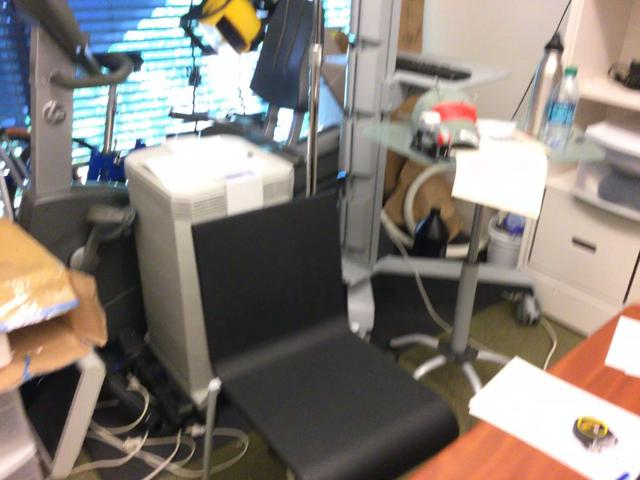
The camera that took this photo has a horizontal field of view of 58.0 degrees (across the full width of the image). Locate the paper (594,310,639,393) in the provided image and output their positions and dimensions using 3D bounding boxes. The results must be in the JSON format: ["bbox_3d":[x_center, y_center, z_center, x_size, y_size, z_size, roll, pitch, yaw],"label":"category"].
[{"bbox_3d":[0.520,0.180,0.930,0.110,0.020,0.200,15,28,30],"label":"paper"}]

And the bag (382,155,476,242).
[{"bbox_3d":[0.500,-0.200,2.700,0.350,0.320,0.220,-6,25,-13],"label":"bag"}]

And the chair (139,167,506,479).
[{"bbox_3d":[-0.030,0.330,1.360,0.450,0.800,0.660,-17,29,-33],"label":"chair"}]

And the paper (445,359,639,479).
[{"bbox_3d":[0.310,0.250,0.780,0.150,0.020,0.230,-21,31,-38],"label":"paper"}]
